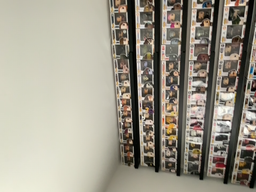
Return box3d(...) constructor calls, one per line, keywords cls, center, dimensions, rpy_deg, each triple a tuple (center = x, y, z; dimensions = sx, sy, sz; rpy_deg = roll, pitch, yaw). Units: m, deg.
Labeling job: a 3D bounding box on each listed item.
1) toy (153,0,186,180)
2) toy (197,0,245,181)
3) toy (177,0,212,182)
box3d(cls="toy", center=(0.340, -0.100, 1.780), dimensions=(0.210, 0.200, 1.730), rpy_deg=(-45, -43, -65))
box3d(cls="toy", center=(0.720, -0.120, 1.690), dimensions=(0.210, 0.190, 1.740), rpy_deg=(-47, -42, -64))
box3d(cls="toy", center=(0.530, -0.110, 1.720), dimensions=(0.180, 0.160, 1.810), rpy_deg=(-48, -41, -63))
